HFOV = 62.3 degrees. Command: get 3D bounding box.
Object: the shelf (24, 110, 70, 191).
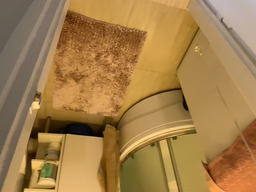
[{"bbox_3d":[-0.590,0.560,1.550,0.200,0.850,0.380,8,134,-15],"label":"shelf"}]
